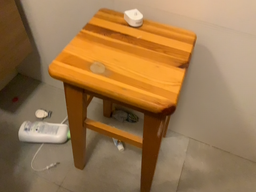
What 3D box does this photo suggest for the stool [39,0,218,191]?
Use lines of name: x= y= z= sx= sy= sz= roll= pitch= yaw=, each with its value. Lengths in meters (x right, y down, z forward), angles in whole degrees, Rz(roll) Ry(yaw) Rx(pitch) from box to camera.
stool: x=0.010 y=0.050 z=0.750 sx=0.330 sy=0.590 sz=0.340 roll=21 pitch=54 yaw=11
